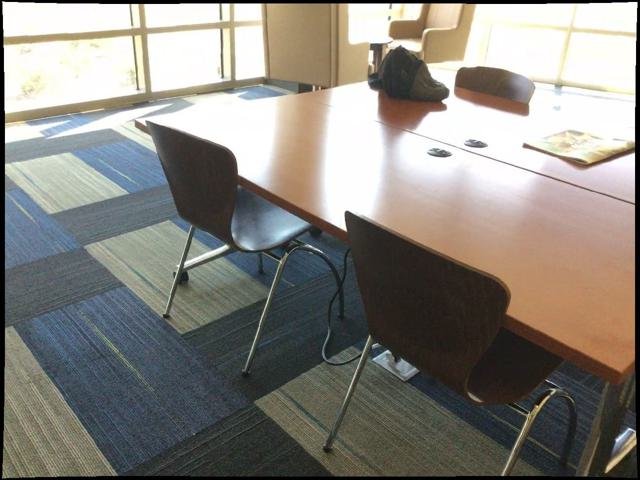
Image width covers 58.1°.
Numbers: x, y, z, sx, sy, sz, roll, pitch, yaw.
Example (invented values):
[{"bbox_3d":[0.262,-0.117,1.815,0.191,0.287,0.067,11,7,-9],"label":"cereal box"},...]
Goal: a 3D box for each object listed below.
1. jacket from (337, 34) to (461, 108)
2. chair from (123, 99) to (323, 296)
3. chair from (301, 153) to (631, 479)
[{"bbox_3d":[0.349,-0.812,2.720,0.319,0.220,0.560,-9,30,-22],"label":"jacket"},{"bbox_3d":[-0.329,-0.180,1.990,0.440,0.451,0.500,-22,37,-39],"label":"chair"},{"bbox_3d":[0.339,0.130,1.450,0.549,0.471,0.530,-22,37,-39],"label":"chair"}]
